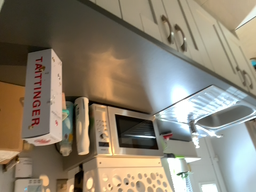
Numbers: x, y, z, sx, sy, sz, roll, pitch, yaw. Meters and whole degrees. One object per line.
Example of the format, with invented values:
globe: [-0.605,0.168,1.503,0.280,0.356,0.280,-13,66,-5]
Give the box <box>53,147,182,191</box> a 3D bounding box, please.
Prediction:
box: [-0.050,0.530,1.240,0.600,0.320,0.430,16,144,-41]
